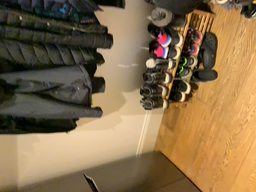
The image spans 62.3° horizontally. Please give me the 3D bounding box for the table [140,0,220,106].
[{"bbox_3d":[0.400,-0.360,1.760,0.290,0.320,0.820,39,125,46],"label":"table"}]

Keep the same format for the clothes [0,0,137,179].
[{"bbox_3d":[-0.500,-0.200,1.120,0.300,0.970,1.270,39,125,46],"label":"clothes"}]
